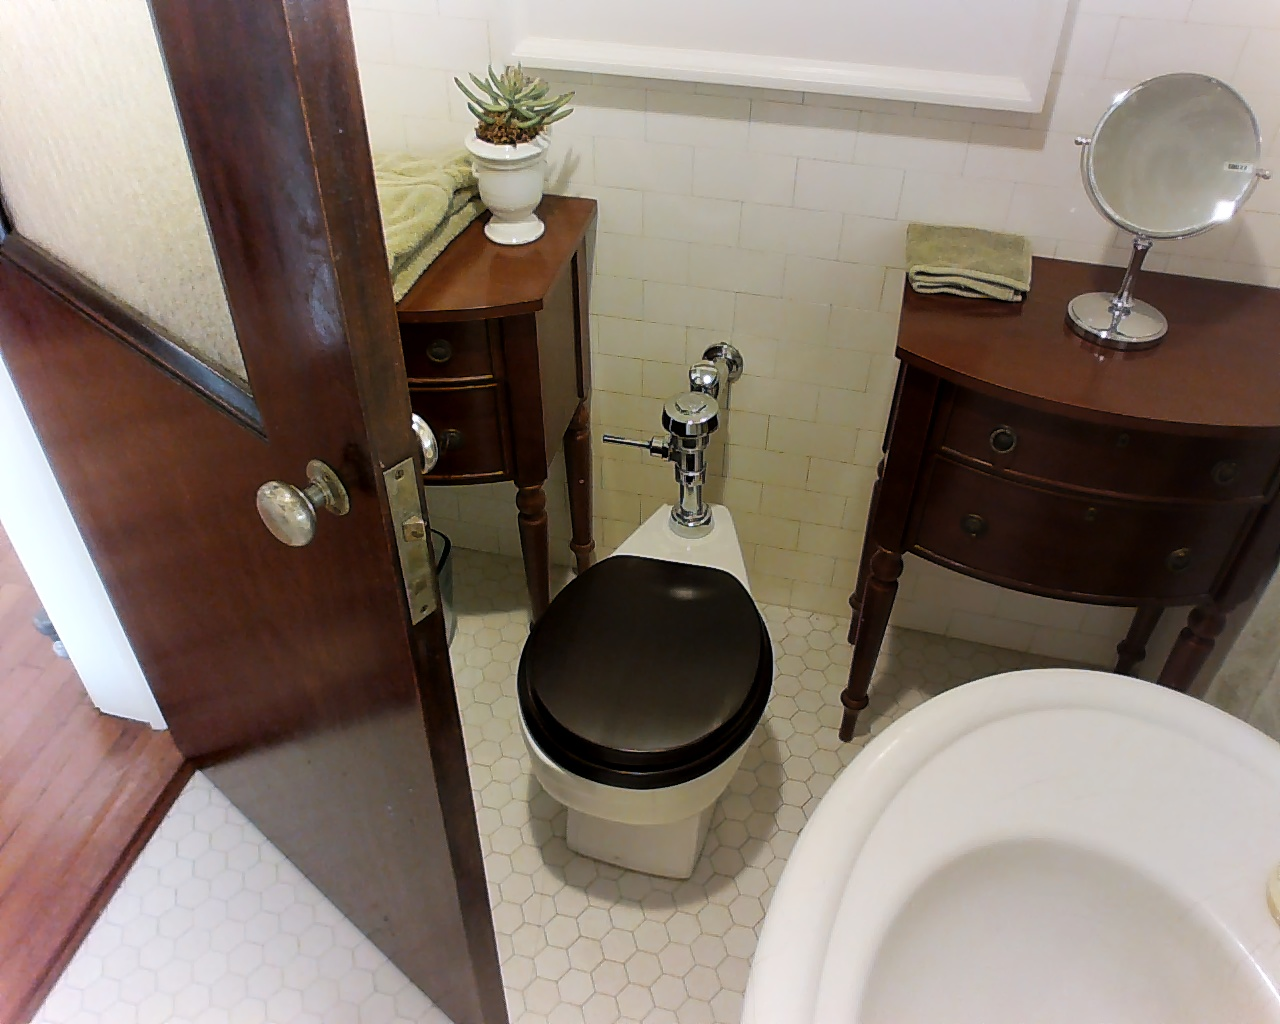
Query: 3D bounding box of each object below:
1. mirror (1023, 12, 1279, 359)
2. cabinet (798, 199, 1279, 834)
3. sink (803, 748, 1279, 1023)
[{"bbox_3d":[0.650,-0.420,1.380,0.220,0.330,0.260,9,42,10],"label":"mirror"},{"bbox_3d":[0.620,0.030,1.670,0.610,0.840,0.400,10,42,10],"label":"cabinet"},{"bbox_3d":[0.310,0.460,0.820,0.370,0.180,0.470,10,42,10],"label":"sink"}]
